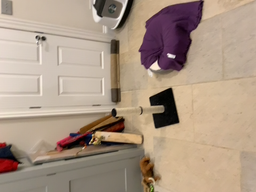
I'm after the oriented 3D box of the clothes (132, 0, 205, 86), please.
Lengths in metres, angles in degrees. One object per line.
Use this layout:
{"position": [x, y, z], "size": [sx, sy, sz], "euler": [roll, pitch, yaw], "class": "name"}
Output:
{"position": [0.340, -0.560, 2.090], "size": [0.680, 0.100, 0.730], "euler": [36, 121, 50], "class": "clothes"}
